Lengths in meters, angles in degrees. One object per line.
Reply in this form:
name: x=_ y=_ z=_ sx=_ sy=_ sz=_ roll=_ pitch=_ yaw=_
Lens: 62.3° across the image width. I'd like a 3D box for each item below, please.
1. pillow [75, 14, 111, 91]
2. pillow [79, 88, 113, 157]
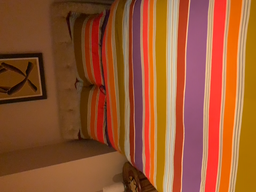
pillow: x=-0.350 y=-0.420 z=2.080 sx=0.380 sy=0.230 sz=0.660 roll=-152 pitch=59 yaw=-62
pillow: x=-0.340 y=0.260 z=2.240 sx=0.390 sy=0.240 sz=0.590 roll=-149 pitch=56 yaw=-61
